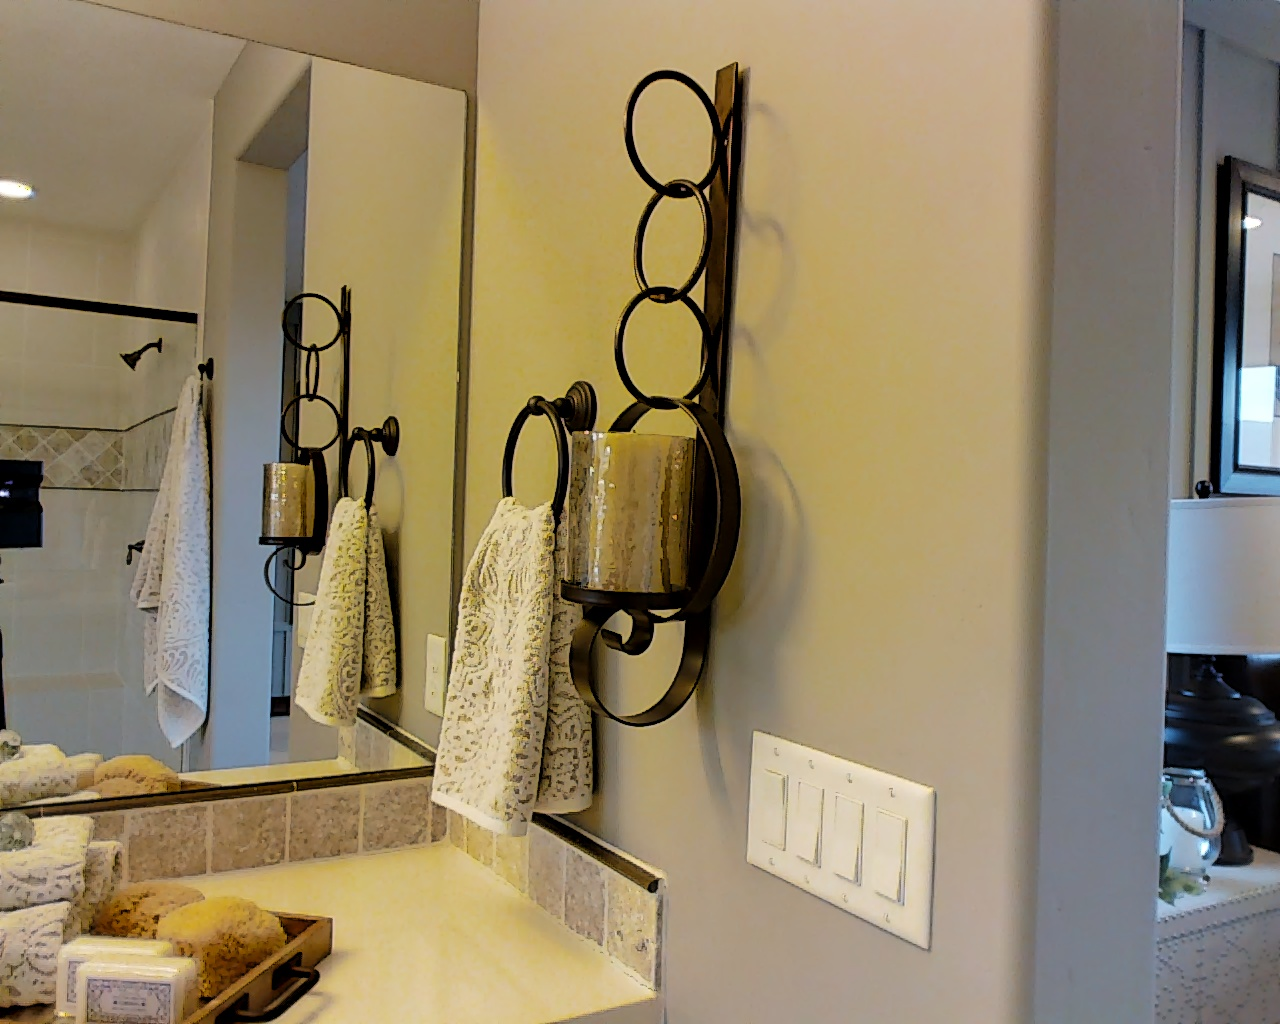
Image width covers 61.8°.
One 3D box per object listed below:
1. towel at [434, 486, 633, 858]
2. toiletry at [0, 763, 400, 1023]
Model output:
[{"bbox_3d":[-0.130,0.170,1.260,0.120,0.390,0.220,-6,4,-31],"label":"towel"},{"bbox_3d":[-0.560,0.400,1.110,0.470,0.150,0.410,2,0,14],"label":"toiletry"}]
